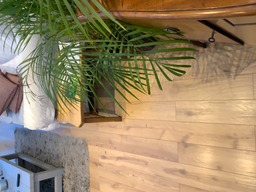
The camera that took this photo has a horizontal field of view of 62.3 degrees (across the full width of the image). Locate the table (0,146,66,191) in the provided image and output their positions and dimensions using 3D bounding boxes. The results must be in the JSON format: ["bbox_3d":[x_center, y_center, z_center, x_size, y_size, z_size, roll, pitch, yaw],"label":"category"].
[{"bbox_3d":[-1.280,1.090,2.600,1.230,0.410,0.680,-1,91,41],"label":"table"}]

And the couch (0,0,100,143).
[{"bbox_3d":[-1.350,-0.210,2.380,2.150,0.810,1.020,-1,91,41],"label":"couch"}]
